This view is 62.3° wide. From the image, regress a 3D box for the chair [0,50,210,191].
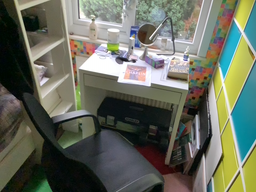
[{"bbox_3d":[-0.150,0.380,1.110,0.640,0.960,0.610,-24,44,-35],"label":"chair"}]
